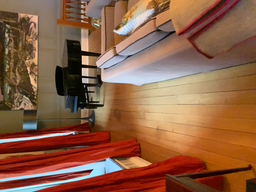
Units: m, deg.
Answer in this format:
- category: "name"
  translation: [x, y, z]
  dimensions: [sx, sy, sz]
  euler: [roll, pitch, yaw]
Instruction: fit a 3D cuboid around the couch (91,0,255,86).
- category: "couch"
  translation: [0.340, -0.810, 1.950]
  dimensions: [2.680, 0.730, 1.200]
  euler: [174, 97, -66]
